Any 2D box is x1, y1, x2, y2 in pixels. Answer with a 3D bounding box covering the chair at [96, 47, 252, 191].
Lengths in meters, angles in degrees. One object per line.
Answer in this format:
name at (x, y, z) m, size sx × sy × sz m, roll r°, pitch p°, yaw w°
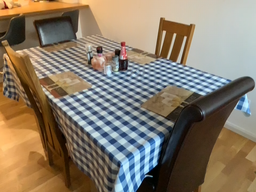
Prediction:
chair at (0.180, 0.320, 1.170) m, size 0.410 × 1.000 × 0.520 m, roll -24°, pitch 38°, yaw -35°
